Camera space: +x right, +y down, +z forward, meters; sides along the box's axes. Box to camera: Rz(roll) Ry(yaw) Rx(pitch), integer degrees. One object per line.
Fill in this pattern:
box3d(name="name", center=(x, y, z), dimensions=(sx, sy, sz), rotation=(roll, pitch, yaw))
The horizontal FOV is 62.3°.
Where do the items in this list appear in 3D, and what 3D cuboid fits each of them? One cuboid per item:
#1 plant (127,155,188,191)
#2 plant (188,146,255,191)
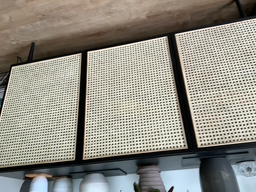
box3d(name="plant", center=(0.160, 0.460, 1.090), dimensions=(0.270, 0.240, 0.230), rotation=(-9, 152, 9))
box3d(name="plant", center=(0.420, 0.440, 0.960), dimensions=(0.220, 0.350, 0.220), rotation=(-9, 152, 9))
